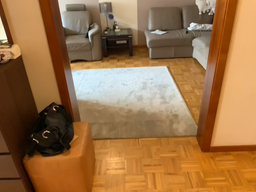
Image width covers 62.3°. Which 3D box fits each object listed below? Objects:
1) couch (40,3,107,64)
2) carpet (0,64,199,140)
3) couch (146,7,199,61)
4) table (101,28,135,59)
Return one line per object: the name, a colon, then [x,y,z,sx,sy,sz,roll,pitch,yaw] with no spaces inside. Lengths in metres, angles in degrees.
couch: [-1.010,-1.290,4.320,0.990,0.960,0.960,-2,30,2]
carpet: [-0.720,-0.040,3.040,2.910,0.040,1.920,-1,30,2]
couch: [0.830,-1.290,4.310,0.870,0.830,0.920,-2,30,2]
table: [-0.190,-1.140,4.560,0.650,0.450,0.640,-2,30,1]
